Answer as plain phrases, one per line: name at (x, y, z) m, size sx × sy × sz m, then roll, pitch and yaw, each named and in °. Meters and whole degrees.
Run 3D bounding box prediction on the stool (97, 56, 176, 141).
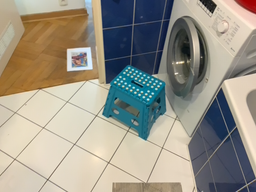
stool at (0.050, 0.010, 1.420) m, size 0.380 × 0.300 × 0.320 m, roll 29°, pitch 54°, yaw 19°
